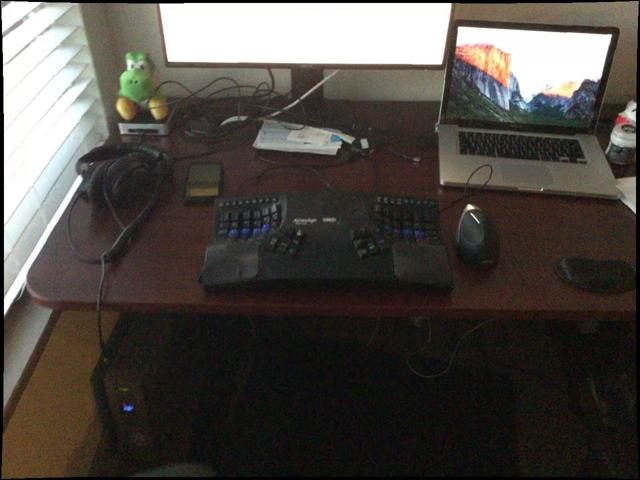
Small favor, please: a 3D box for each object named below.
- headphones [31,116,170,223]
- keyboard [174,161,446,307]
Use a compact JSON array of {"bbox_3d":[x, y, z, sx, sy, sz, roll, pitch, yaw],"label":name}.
[{"bbox_3d":[-0.439,-0.150,1.190,0.190,0.100,0.220,4,41,2],"label":"headphones"},{"bbox_3d":[-0.010,-0.020,1.030,0.429,0.080,0.260,4,41,2],"label":"keyboard"}]
